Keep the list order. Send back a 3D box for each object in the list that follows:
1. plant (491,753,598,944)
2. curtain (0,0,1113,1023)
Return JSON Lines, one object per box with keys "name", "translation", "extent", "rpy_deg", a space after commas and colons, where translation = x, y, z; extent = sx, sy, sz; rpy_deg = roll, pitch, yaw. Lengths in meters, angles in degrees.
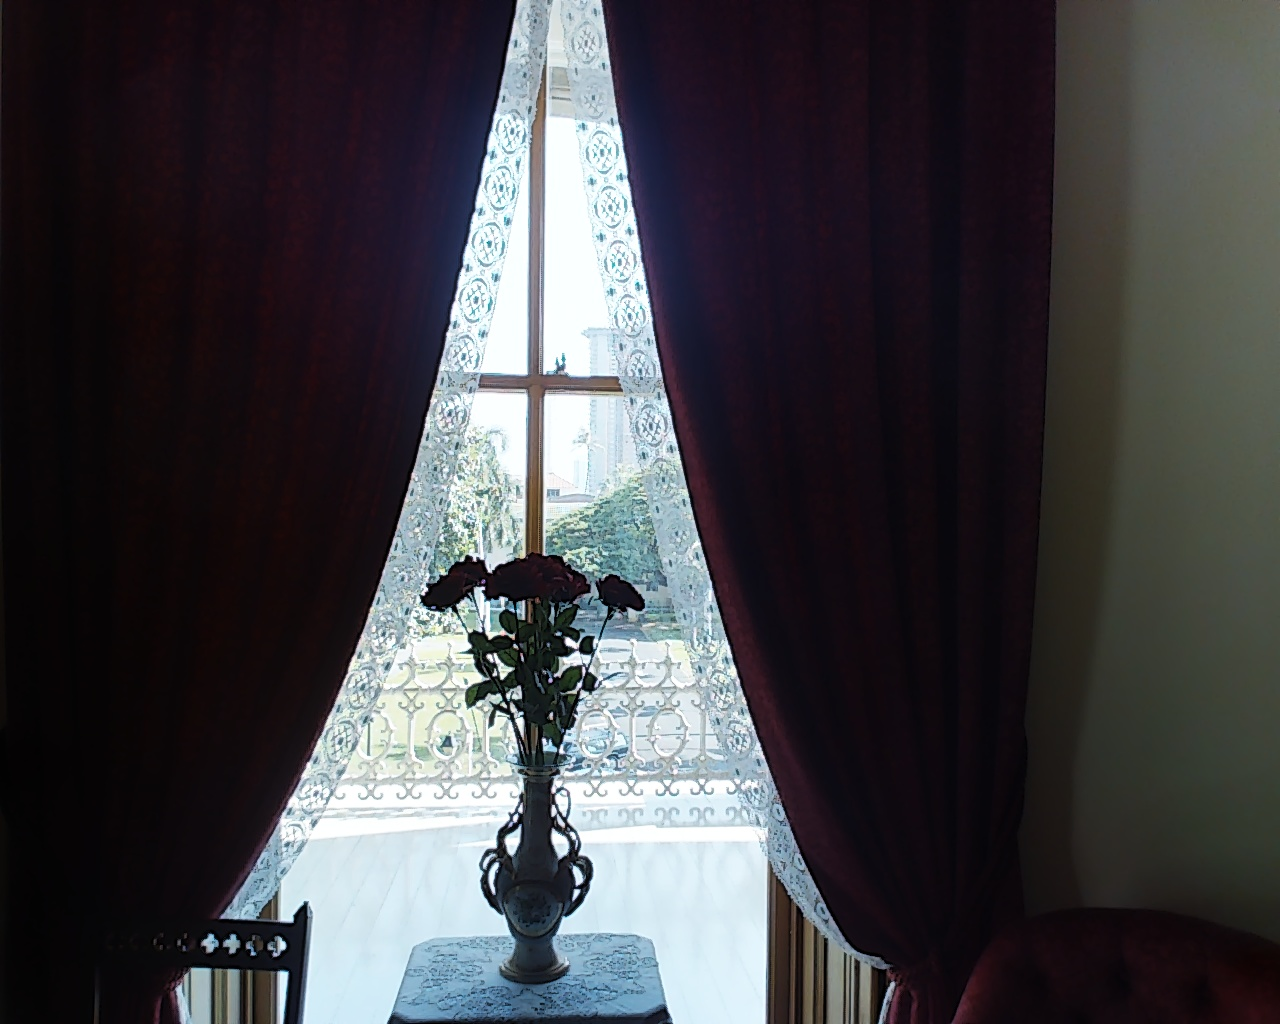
{"name": "plant", "translation": [-0.180, 0.630, 2.030], "extent": [0.190, 0.330, 0.090], "rpy_deg": [1, 0, -5]}
{"name": "curtain", "translation": [-0.160, -0.220, 2.210], "extent": [2.190, 3.500, 0.250], "rpy_deg": [1, 0, -5]}
